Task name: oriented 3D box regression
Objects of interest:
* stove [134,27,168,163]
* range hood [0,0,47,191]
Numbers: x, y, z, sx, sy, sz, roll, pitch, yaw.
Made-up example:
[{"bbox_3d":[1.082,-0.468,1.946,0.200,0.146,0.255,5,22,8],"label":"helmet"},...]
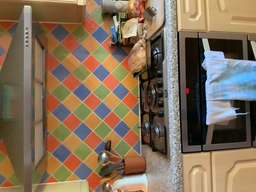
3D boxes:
[{"bbox_3d":[0.120,0.000,1.320,0.530,0.020,0.680,169,99,-77],"label":"stove"},{"bbox_3d":[-0.820,0.000,1.130,0.590,0.640,1.070,157,111,-77],"label":"range hood"}]
